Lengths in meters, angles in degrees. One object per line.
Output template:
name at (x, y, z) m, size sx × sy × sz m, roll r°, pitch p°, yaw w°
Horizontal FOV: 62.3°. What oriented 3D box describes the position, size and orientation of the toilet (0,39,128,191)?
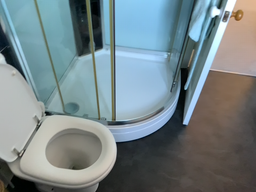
toilet at (-0.400, 0.220, 1.070) m, size 0.690 × 0.810 × 0.440 m, roll 10°, pitch 46°, yaw 6°
